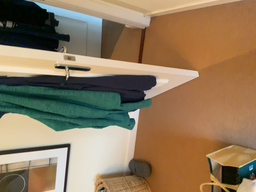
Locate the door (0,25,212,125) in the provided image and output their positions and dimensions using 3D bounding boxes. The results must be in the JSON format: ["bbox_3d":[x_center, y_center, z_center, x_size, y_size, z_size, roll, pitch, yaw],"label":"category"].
[{"bbox_3d":[-0.520,-0.020,1.310,1.000,2.020,0.190,-27,67,50],"label":"door"}]
